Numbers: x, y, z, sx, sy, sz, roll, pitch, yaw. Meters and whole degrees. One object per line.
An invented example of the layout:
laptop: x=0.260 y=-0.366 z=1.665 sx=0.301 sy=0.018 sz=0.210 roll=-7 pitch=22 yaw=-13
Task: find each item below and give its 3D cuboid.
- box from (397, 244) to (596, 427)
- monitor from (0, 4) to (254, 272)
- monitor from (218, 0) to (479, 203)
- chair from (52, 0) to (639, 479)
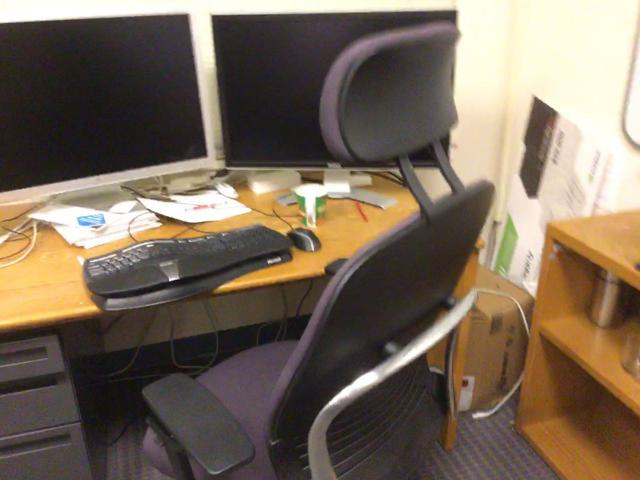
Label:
box: x=0.590 y=0.310 z=2.030 sx=0.470 sy=0.410 sz=0.400 roll=-7 pitch=26 yaw=-20
monitor: x=-0.590 y=-0.300 z=1.520 sx=0.780 sy=0.580 sz=0.280 roll=-14 pitch=29 yaw=-32
monitor: x=0.070 y=-0.410 z=1.710 sx=0.680 sy=0.530 sz=0.210 roll=3 pitch=24 yaw=2
chair: x=0.000 y=0.270 z=1.120 sx=0.690 sy=1.330 sz=0.660 roll=-11 pitch=27 yaw=-27
